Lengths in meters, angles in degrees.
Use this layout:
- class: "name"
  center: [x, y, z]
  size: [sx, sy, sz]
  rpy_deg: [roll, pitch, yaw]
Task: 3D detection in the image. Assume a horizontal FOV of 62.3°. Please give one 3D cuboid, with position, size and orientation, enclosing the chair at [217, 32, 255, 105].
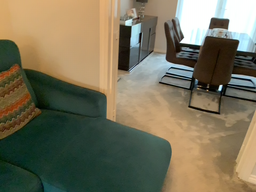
- class: "chair"
  center: [1.810, -0.400, 3.120]
  size: [0.710, 0.890, 0.470]
  rpy_deg: [12, 27, 15]

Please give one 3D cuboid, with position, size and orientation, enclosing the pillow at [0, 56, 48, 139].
- class: "pillow"
  center: [-0.840, 0.000, 1.450]
  size: [0.170, 0.420, 0.450]
  rpy_deg: [-3, 22, 28]

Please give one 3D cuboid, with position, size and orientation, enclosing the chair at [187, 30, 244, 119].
- class: "chair"
  center: [1.090, -0.310, 2.740]
  size: [0.410, 0.930, 0.660]
  rpy_deg: [13, 28, 16]
